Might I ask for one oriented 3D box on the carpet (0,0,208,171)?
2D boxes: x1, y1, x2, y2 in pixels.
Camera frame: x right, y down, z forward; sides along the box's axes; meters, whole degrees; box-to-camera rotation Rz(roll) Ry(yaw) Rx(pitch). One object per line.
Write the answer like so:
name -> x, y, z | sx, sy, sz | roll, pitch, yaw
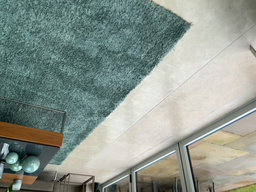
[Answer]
carpet -> -1.040, 0.030, 1.600 | 1.820, 0.180, 2.570 | 17, 141, -26
